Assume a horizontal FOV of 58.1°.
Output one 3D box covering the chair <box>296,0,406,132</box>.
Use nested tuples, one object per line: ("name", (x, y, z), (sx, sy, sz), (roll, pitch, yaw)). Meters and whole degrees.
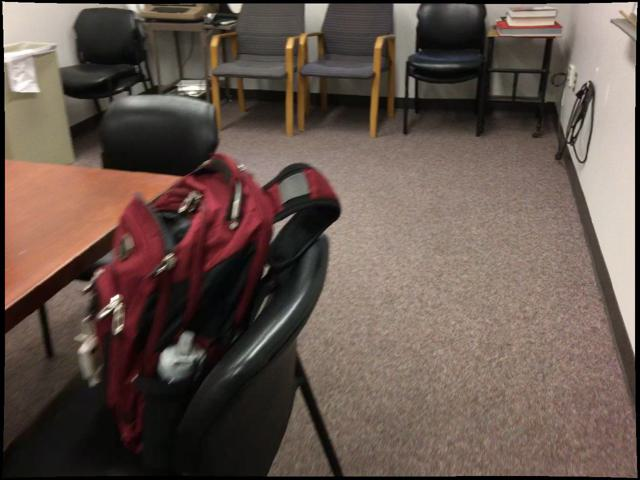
("chair", (0.259, -1.384, 4.190), (0.579, 0.882, 0.790), (8, 37, 15))

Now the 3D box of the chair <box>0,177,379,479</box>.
("chair", (-0.249, 0.401, 1.140), (0.609, 0.872, 0.440), (9, 32, 16))

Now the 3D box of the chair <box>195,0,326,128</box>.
("chair", (-0.389, -1.404, 4.290), (0.668, 0.872, 0.780), (4, 33, 13))

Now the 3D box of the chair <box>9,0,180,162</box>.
("chair", (-1.456, -1.123, 3.910), (0.589, 0.882, 0.800), (7, 32, 12))
